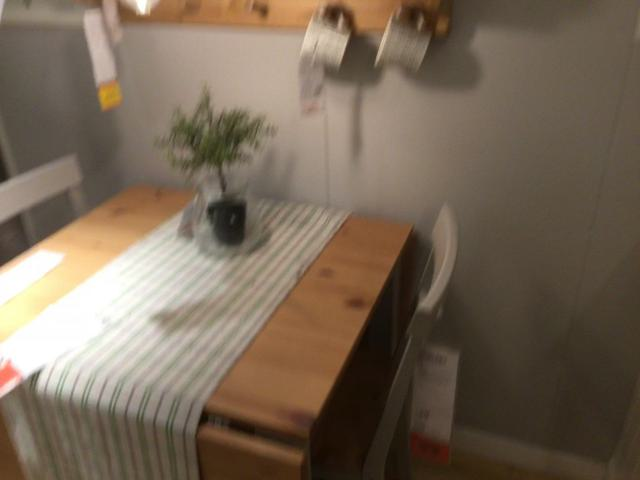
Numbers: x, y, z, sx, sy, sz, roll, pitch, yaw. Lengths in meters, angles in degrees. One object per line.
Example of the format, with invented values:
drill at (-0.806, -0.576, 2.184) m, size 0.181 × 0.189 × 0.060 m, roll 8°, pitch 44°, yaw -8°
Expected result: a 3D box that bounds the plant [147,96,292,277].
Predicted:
plant at (-0.200, -0.120, 1.230) m, size 0.200 × 0.320 × 0.180 m, roll 9°, pitch 30°, yaw 22°
